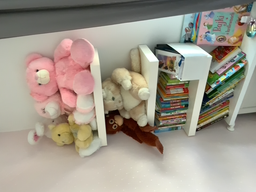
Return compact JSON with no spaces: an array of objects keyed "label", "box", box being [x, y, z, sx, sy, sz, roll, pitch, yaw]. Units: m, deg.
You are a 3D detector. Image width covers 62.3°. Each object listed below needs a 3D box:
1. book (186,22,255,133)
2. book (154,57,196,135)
[{"label":"book","box":[0.600,-0.090,1.410,0.180,0.240,0.730,-106,14,-52]},{"label":"book","box":[0.300,0.010,1.430,0.150,0.180,0.510,-109,16,-58]}]
